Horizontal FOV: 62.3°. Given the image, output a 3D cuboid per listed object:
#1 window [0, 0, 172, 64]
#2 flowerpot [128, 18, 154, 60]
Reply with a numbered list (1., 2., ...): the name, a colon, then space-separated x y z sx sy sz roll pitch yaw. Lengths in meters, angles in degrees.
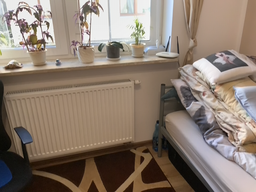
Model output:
1. window: -0.490 -1.010 1.650 1.620 1.350 0.500 -7 23 -15
2. flowerpot: 0.110 -0.520 1.920 0.170 0.340 0.220 -6 23 -12
